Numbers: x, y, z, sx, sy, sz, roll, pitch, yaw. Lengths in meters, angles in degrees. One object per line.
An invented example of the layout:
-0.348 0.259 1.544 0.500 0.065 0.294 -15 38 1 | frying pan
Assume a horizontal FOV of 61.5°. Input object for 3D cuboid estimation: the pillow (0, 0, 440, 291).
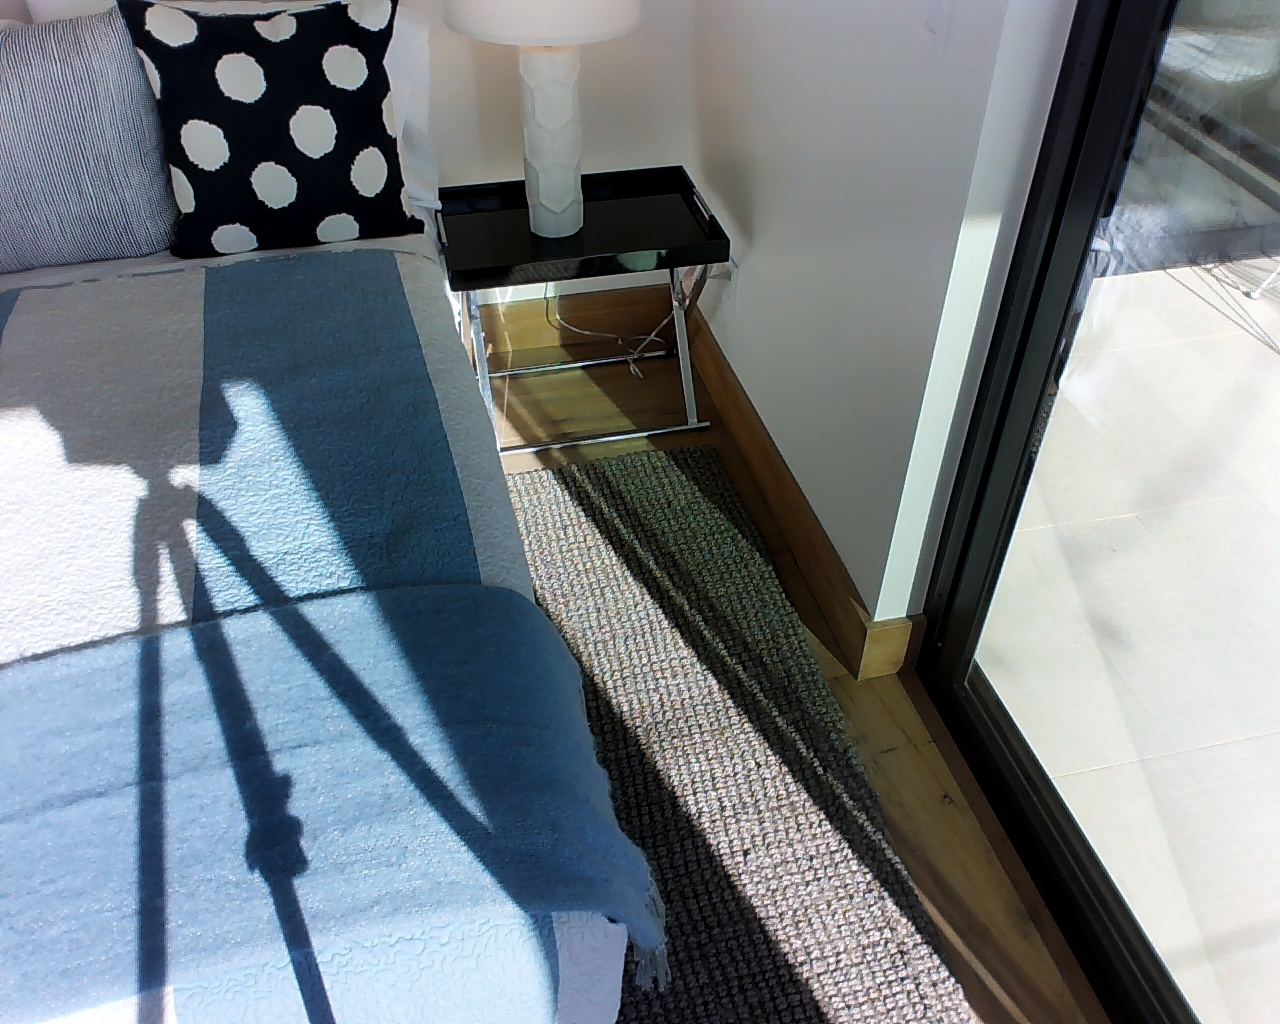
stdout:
-1.090 -0.720 1.940 1.350 0.450 0.440 -10 43 -10 | pillow
